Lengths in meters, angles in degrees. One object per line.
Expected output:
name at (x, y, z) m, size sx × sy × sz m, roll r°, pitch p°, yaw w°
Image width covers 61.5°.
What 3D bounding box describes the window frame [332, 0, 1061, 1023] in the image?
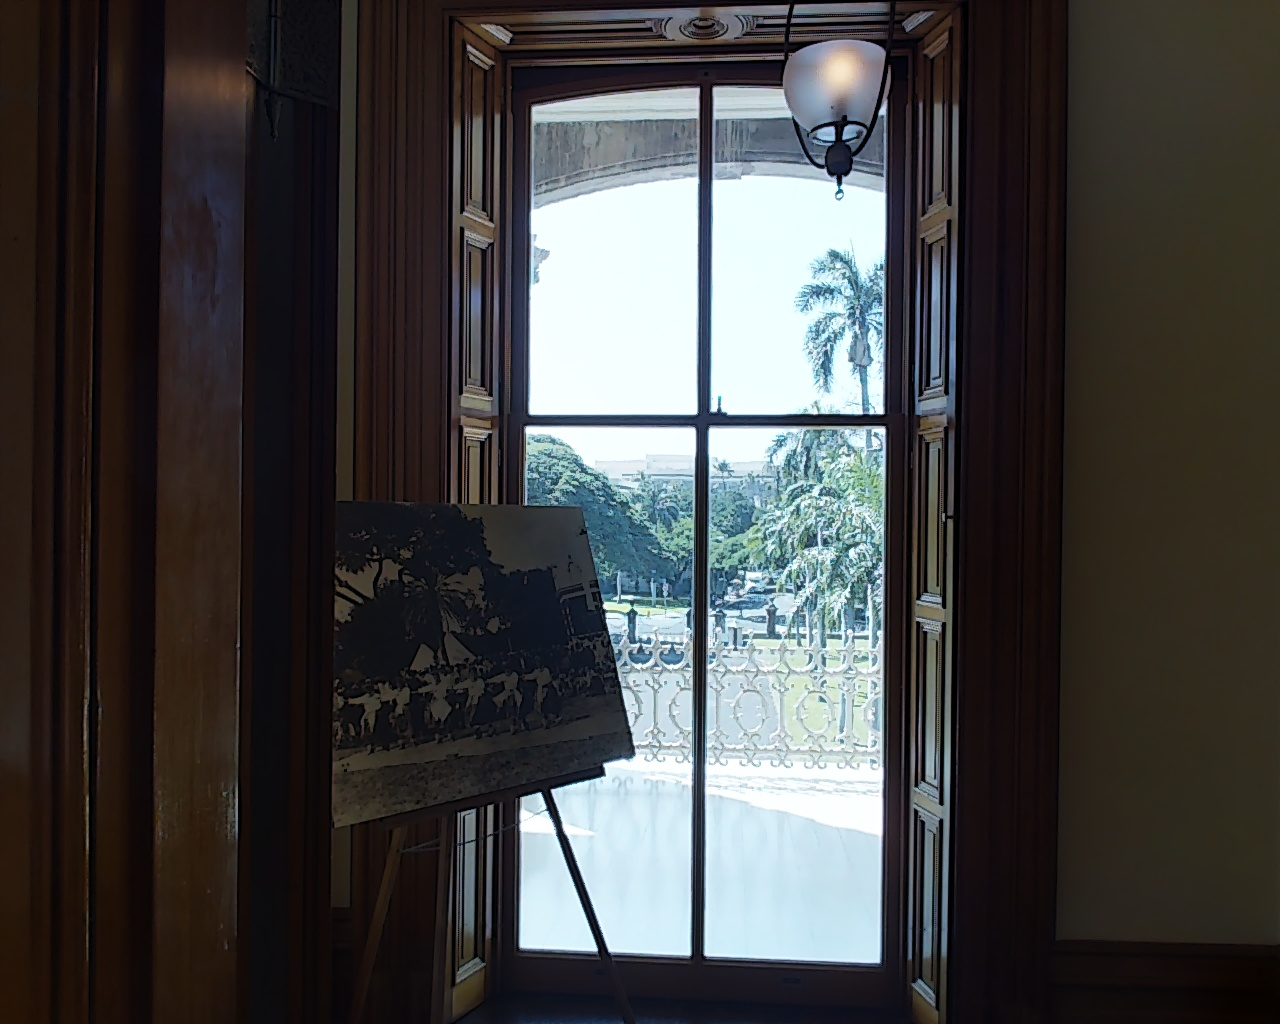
window frame at (0.150, -0.150, 3.320) m, size 2.100 × 3.400 × 0.360 m, roll 1°, pitch 0°, yaw 5°
